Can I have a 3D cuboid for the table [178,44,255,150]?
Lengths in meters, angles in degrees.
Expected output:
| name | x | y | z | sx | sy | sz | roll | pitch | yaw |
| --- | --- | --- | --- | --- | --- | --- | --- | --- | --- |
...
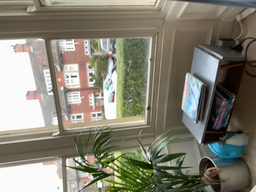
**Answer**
| name | x | y | z | sx | sy | sz | roll | pitch | yaw |
| --- | --- | --- | --- | --- | --- | --- | --- | --- | --- |
| table | 0.800 | 0.000 | 1.930 | 0.400 | 0.450 | 0.840 | -116 | 24 | -62 |
